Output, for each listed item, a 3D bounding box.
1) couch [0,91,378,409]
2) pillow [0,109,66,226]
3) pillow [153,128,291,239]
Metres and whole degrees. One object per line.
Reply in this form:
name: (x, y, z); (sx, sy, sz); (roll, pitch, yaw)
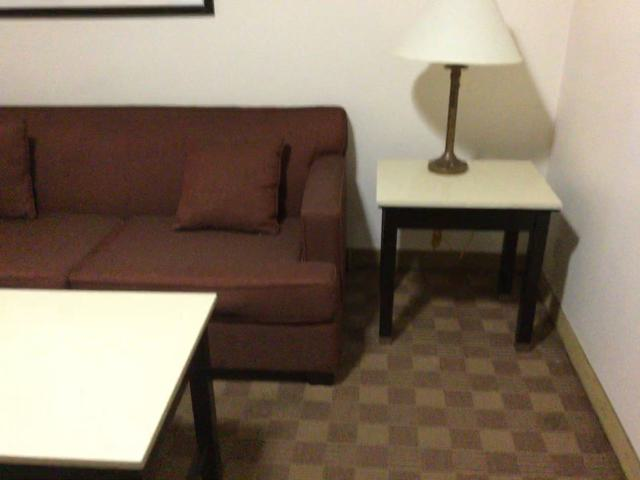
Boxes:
couch: (-0.760, -0.050, 2.250); (1.880, 0.830, 0.980); (2, 25, 2)
pillow: (-1.330, -0.300, 2.300); (0.460, 0.390, 0.270); (3, 25, 3)
pillow: (-0.360, -0.230, 2.270); (0.460, 0.330, 0.320); (3, 25, 3)
